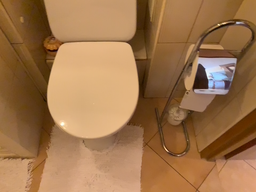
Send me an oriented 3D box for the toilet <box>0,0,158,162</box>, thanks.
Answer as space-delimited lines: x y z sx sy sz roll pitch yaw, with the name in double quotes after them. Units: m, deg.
-0.150 -0.140 0.930 0.370 0.770 0.670 -1 61 -3 "toilet"
